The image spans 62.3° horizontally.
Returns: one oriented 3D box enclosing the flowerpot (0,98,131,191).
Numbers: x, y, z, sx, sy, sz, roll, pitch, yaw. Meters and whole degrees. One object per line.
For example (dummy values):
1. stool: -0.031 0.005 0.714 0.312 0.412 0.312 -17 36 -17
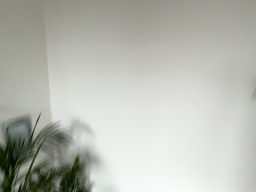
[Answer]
1. flowerpot: -0.530 0.670 1.440 0.870 1.050 0.620 14 20 36
